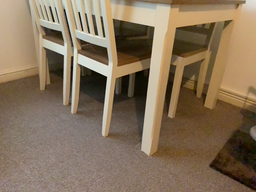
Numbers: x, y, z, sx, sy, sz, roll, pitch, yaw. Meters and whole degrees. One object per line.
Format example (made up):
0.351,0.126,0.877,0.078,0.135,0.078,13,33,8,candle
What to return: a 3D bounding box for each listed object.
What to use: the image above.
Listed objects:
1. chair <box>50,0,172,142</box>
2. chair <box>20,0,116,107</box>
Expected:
-0.100,-0.290,1.220,0.480,0.880,0.420,-21,36,-40,chair
-0.410,-0.460,1.510,0.420,0.880,0.480,27,34,38,chair
